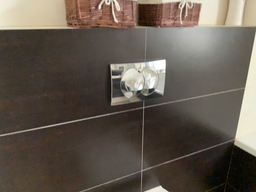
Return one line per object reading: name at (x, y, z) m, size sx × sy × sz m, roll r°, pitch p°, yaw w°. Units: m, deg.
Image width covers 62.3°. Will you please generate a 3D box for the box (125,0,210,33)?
box at (0.160, -0.370, 0.890) m, size 0.290 × 0.190 × 0.190 m, roll -8°, pitch 21°, yaw -23°
